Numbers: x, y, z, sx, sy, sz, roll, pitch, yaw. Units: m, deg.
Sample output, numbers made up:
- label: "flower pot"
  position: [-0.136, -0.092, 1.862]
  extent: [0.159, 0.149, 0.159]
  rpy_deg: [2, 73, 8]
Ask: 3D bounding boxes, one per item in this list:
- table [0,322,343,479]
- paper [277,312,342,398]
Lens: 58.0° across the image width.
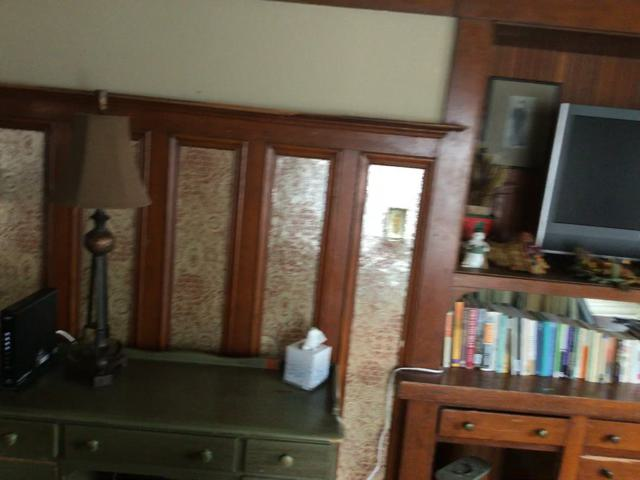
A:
- label: "table"
  position: [-0.560, 0.820, 1.960]
  extent: [1.160, 0.790, 0.590]
  rpy_deg: [8, 8, 3]
- label: "paper"
  position: [-0.030, 0.390, 2.010]
  extent: [0.180, 0.200, 0.250]
  rpy_deg: [8, 8, 3]
